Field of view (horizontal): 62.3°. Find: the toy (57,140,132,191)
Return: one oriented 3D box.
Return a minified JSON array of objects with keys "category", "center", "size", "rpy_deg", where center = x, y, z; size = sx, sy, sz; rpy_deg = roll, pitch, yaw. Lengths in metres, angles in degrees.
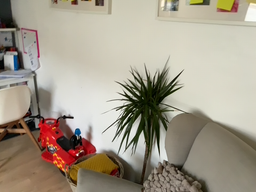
[{"category":"toy","center":[-0.280,0.680,1.700],"size":[0.400,0.380,0.440],"rpy_deg":[-13,28,-37]}]

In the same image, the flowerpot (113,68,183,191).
[{"category":"flowerpot","center":[0.110,0.380,1.560],"size":[0.260,1.100,0.300],"rpy_deg":[-15,29,-41]}]

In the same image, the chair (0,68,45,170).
[{"category":"chair","center":[-1.270,0.200,2.210],"size":[0.580,0.810,0.500],"rpy_deg":[23,28,38]}]
